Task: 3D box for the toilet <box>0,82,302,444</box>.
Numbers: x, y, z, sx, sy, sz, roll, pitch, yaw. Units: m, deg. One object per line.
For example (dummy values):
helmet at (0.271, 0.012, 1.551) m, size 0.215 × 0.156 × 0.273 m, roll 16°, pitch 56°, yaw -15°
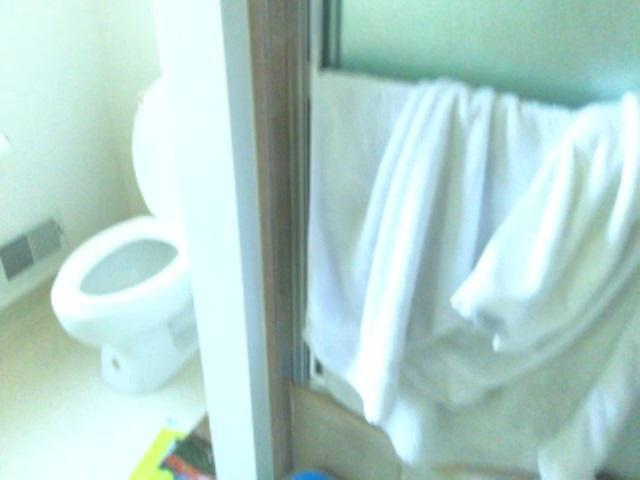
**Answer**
toilet at (-0.450, 0.020, 1.810) m, size 0.460 × 0.770 × 0.750 m, roll 15°, pitch 35°, yaw 23°
